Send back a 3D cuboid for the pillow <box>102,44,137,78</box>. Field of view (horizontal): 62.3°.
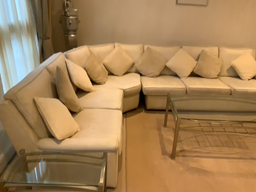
[{"bbox_3d":[-0.130,-0.520,3.200,0.360,0.340,0.190,45,-14,-19],"label":"pillow"}]

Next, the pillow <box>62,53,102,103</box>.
[{"bbox_3d":[-0.530,-0.210,2.530,0.190,0.420,0.380,-17,36,18],"label":"pillow"}]

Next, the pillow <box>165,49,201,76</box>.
[{"bbox_3d":[0.870,-0.510,3.320,0.440,0.340,0.170,3,50,-45],"label":"pillow"}]

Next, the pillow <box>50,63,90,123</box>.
[{"bbox_3d":[-0.540,-0.040,2.070,0.140,0.390,0.450,-18,31,8],"label":"pillow"}]

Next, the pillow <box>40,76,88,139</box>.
[{"bbox_3d":[-0.510,0.100,1.780,0.130,0.360,0.380,0,52,15],"label":"pillow"}]

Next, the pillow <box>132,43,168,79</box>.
[{"bbox_3d":[0.340,-0.540,3.290,0.380,0.380,0.170,47,19,-33],"label":"pillow"}]

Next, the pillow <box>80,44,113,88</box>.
[{"bbox_3d":[-0.430,-0.430,2.910,0.220,0.480,0.430,17,25,15],"label":"pillow"}]
